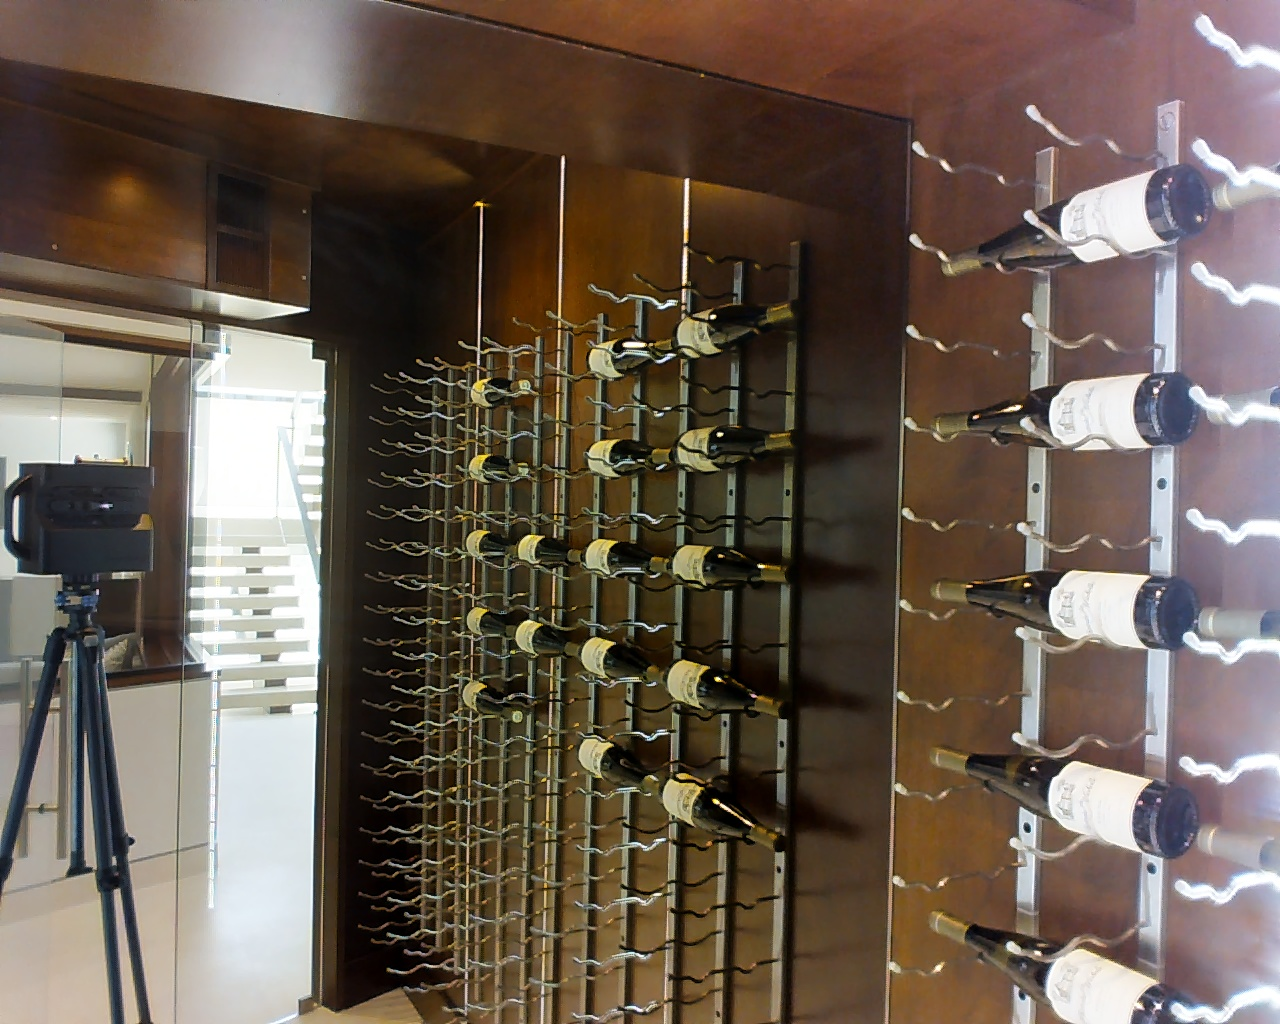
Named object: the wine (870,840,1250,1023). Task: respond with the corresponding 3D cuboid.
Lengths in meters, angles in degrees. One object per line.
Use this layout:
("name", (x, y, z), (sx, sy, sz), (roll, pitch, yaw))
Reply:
("wine", (0.450, 0.500, 1.230), (0.120, 0.110, 0.440), (1, 0, -25))

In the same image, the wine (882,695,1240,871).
("wine", (0.450, 0.290, 1.220), (0.100, 0.090, 0.420), (1, 0, -26))

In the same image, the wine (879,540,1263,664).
("wine", (0.460, 0.090, 1.220), (0.110, 0.100, 0.430), (1, 0, -29))

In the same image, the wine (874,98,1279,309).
("wine", (0.470, -0.330, 1.230), (0.120, 0.110, 0.460), (1, 0, -29))
